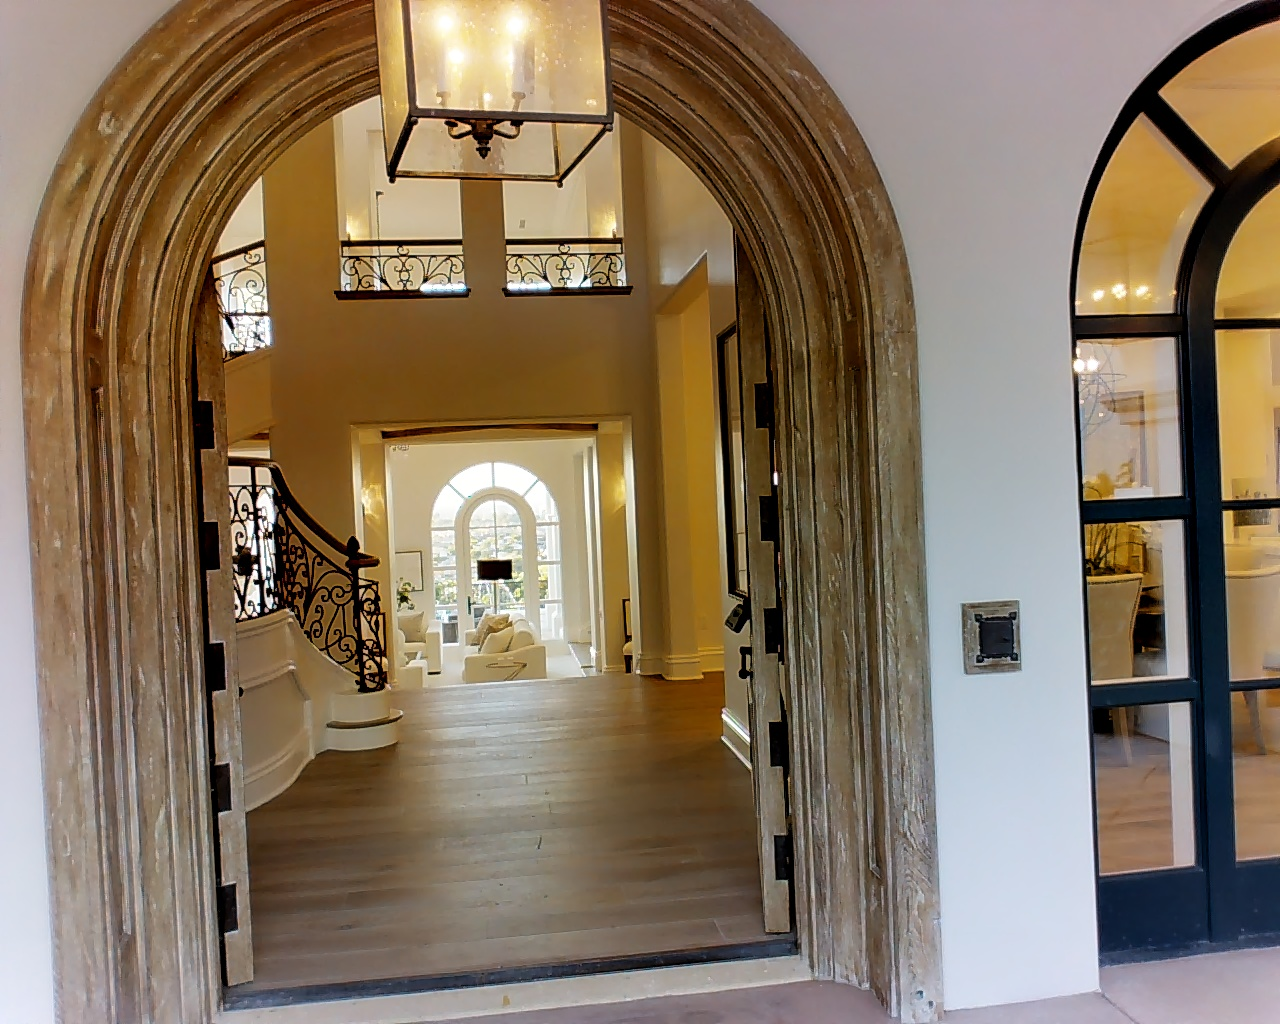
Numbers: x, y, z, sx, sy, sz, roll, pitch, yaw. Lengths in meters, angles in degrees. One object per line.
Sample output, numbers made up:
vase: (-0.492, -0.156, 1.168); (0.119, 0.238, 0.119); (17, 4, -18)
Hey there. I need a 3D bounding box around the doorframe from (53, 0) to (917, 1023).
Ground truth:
doorframe: (-0.380, 0.000, 3.070); (2.209, 3.131, 0.320); (-2, 1, -7)
